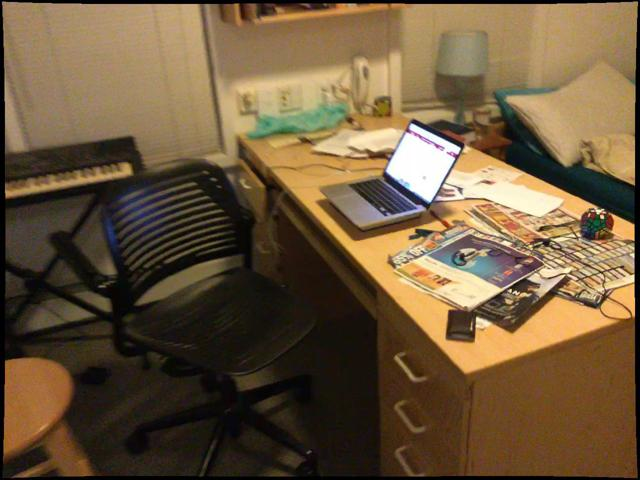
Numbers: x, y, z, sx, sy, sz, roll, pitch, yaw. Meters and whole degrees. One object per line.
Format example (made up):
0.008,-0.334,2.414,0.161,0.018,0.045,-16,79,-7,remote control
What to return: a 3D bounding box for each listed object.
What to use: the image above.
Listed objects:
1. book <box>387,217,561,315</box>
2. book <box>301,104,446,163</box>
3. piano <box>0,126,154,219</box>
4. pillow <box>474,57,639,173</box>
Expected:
0.380,0.050,1.440,0.320,0.030,0.280,-22,34,-30,book
0.220,-0.440,2.330,0.430,0.060,0.410,16,34,32,book
-1.119,-0.220,2.090,0.939,0.120,0.420,-14,30,-18,piano
1.339,-0.651,2.850,0.919,0.280,0.610,-14,30,-18,pillow
